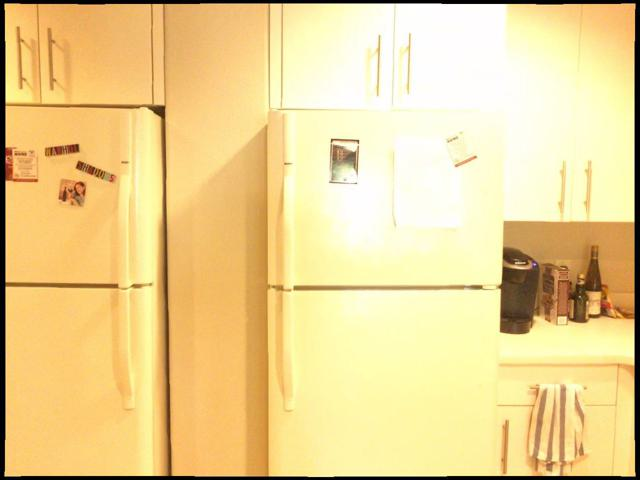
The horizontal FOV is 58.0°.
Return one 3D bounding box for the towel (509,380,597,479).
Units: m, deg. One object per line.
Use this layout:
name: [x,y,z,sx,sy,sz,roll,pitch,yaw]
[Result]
towel: [0.838,0.721,2.090,0.259,0.411,0.080,1,7,-2]
